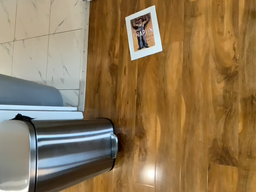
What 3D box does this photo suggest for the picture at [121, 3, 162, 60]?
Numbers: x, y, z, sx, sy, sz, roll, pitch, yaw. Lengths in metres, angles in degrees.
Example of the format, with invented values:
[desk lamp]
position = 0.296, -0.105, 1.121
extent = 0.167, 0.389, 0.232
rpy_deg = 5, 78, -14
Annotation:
[picture]
position = 0.080, -0.400, 1.330
extent = 0.220, 0.010, 0.300
rpy_deg = -15, 80, 25
